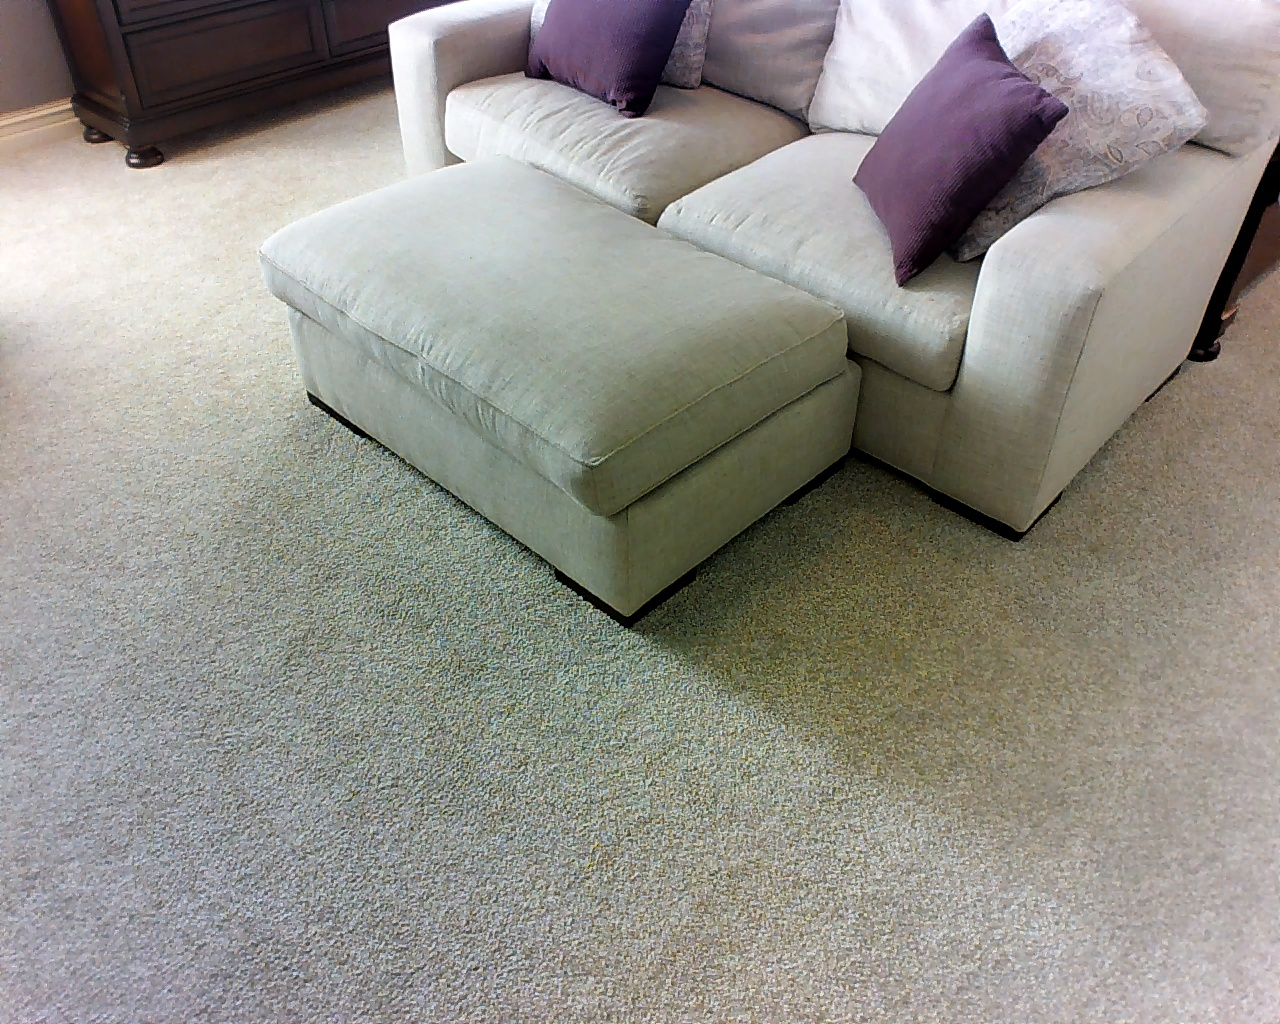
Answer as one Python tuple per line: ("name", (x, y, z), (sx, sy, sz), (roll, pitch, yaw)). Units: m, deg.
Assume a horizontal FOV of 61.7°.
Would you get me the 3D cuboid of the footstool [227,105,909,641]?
("footstool", (-0.180, -0.400, 2.350), (1.190, 0.480, 0.800), (32, 49, 32))
